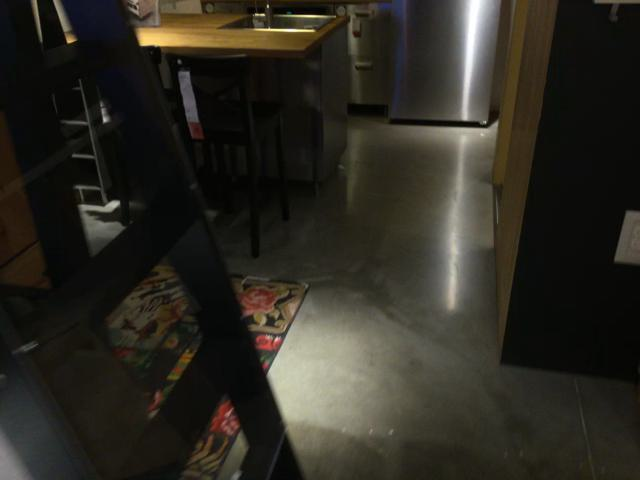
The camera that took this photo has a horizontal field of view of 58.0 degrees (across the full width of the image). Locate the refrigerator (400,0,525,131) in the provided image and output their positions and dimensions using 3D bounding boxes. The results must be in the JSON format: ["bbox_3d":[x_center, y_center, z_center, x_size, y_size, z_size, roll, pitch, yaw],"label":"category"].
[{"bbox_3d":[0.970,-1.610,3.870,0.750,1.630,0.470,7,29,20],"label":"refrigerator"}]
